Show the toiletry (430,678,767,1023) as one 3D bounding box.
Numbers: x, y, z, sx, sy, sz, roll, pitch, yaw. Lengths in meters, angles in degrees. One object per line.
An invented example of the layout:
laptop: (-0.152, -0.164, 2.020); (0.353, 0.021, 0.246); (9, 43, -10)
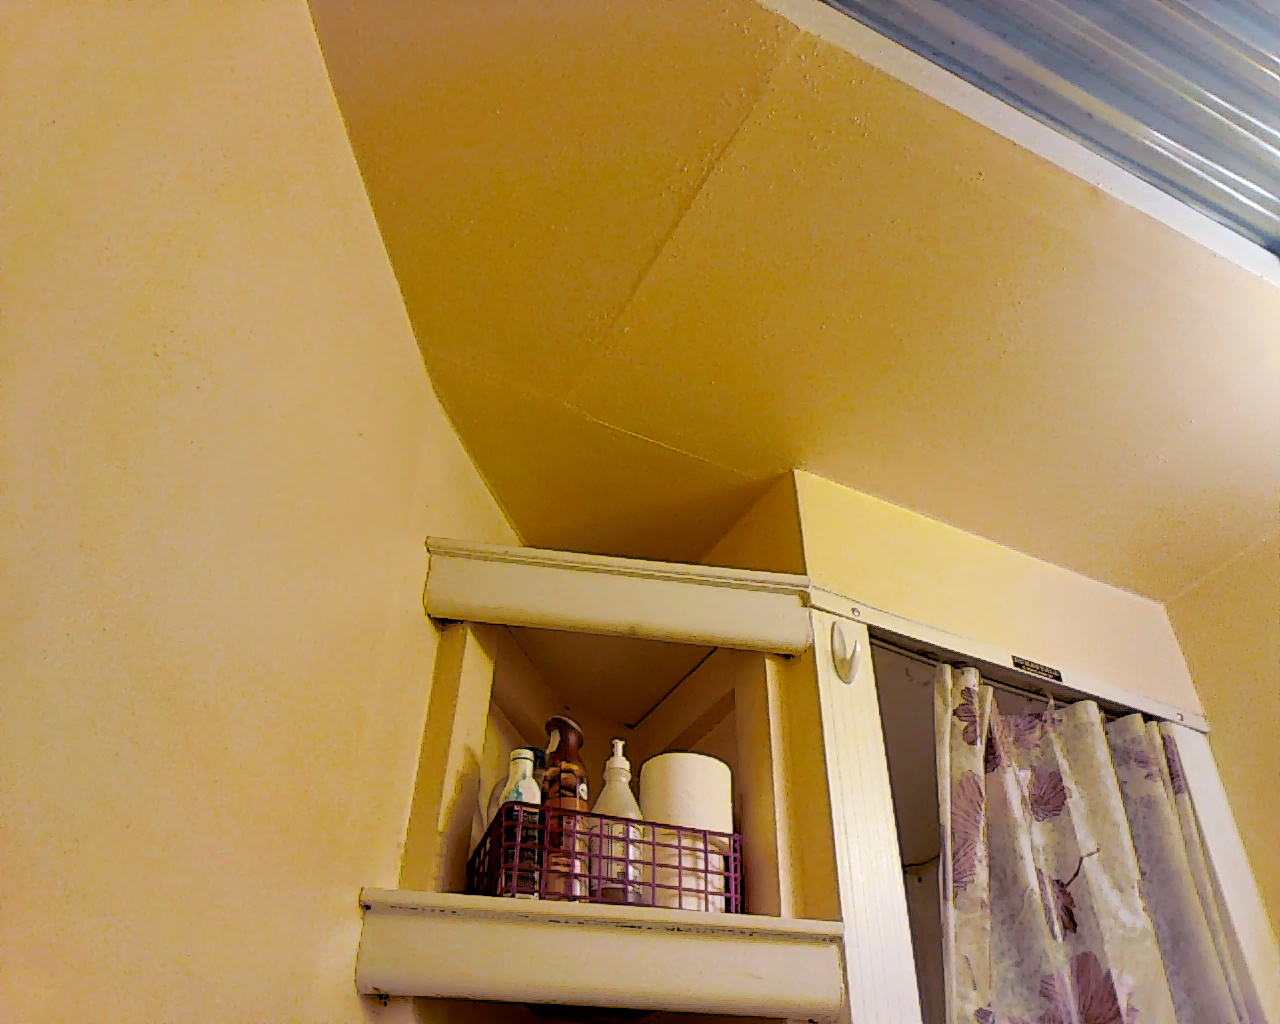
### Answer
toiletry: (-0.060, 0.480, 1.490); (0.390, 0.330, 0.370); (4, -40, -3)
